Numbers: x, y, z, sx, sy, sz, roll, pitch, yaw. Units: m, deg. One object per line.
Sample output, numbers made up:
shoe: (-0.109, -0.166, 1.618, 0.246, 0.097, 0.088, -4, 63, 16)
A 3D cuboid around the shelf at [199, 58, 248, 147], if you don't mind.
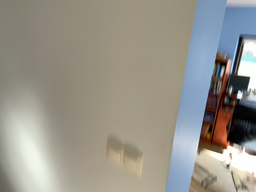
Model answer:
shelf: (1.870, 0.110, 4.190, 0.470, 1.640, 0.480, 17, 20, 35)
